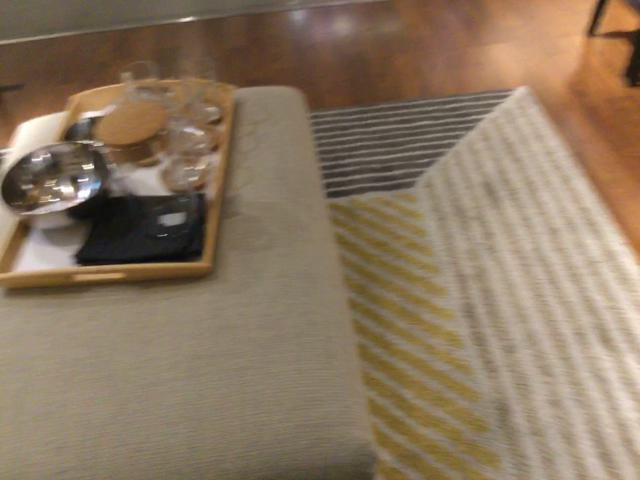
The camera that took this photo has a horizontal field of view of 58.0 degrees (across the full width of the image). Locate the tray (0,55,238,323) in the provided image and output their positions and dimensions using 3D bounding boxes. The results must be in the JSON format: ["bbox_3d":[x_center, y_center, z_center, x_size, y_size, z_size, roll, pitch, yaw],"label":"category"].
[{"bbox_3d":[-0.380,-0.140,1.140,0.410,0.110,0.620,-7,46,0],"label":"tray"}]

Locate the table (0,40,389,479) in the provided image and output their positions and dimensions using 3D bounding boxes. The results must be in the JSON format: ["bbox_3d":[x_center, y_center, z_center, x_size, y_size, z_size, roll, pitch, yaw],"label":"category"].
[{"bbox_3d":[-0.310,0.110,1.210,0.740,0.520,1.040,-7,46,0],"label":"table"}]
